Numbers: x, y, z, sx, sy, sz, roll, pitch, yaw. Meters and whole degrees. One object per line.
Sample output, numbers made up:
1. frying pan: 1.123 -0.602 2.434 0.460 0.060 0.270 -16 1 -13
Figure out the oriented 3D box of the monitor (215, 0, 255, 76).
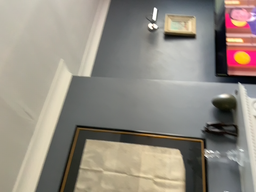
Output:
1. monitor: 1.180 -0.850 1.920 0.090 0.720 1.420 69 -154 -70
